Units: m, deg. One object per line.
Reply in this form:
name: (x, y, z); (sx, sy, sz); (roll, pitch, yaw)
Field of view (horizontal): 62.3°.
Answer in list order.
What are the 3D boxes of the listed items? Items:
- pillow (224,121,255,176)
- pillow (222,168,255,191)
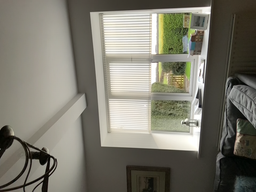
pillow: (1.250, 0.500, 2.080); (0.450, 0.420, 0.140); (58, -165, -17)
pillow: (1.280, 1.030, 2.260); (0.420, 0.320, 0.130); (51, -164, -12)
